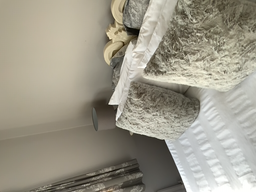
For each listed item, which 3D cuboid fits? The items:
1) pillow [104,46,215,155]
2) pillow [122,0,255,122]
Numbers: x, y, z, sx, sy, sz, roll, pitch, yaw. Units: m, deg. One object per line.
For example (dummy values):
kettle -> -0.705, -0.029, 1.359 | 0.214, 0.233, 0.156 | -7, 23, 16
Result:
pillow -> 0.160, 0.050, 1.580 | 0.660, 0.470, 0.490 | 114, 143, -53
pillow -> 0.300, -0.310, 1.010 | 0.730, 0.370, 0.540 | 114, 143, -53
